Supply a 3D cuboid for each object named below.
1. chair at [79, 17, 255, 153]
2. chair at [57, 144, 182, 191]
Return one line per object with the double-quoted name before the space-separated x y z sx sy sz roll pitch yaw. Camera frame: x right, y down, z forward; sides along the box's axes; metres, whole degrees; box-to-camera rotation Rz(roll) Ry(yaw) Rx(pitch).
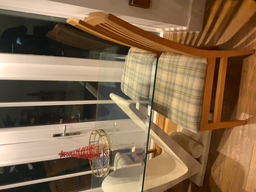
"chair" 0.260 -0.090 1.300 0.490 0.970 0.560 28 115 58
"chair" -0.090 0.880 1.940 0.510 0.980 0.600 22 110 59
